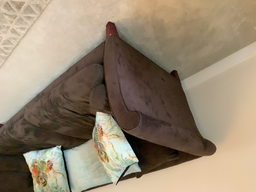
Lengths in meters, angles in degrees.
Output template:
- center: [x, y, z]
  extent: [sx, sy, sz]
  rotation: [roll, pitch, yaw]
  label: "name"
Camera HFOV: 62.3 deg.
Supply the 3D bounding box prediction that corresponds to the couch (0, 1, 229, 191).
- center: [-0.480, 0.430, 2.160]
  extent: [2.310, 0.860, 1.210]
  rotation: [-29, 144, 33]
  label: "couch"
